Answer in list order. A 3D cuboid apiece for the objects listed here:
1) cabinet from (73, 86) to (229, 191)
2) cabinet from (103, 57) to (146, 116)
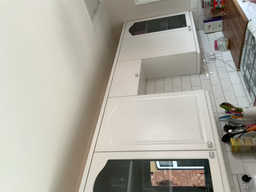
[{"bbox_3d":[0.190,0.470,1.710,1.140,0.990,0.340,-80,-19,-44],"label":"cabinet"},{"bbox_3d":[-0.010,-0.110,2.370,0.560,0.340,0.340,-80,-19,-44],"label":"cabinet"}]
